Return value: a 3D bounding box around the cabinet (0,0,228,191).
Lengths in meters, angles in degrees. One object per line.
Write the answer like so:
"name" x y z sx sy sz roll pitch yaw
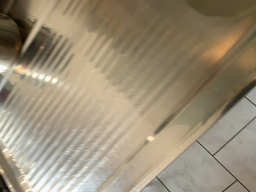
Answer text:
"cabinet" 0.040 -0.090 0.880 0.540 0.830 0.390 47 110 17
